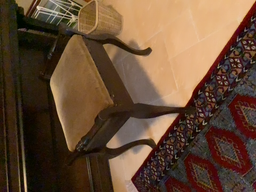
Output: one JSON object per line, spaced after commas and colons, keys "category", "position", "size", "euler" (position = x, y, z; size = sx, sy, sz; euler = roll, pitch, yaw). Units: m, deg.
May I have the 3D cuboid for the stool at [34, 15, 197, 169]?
{"category": "stool", "position": [-0.090, -0.010, 1.160], "size": [0.430, 0.600, 0.550], "euler": [-51, 53, 33]}
